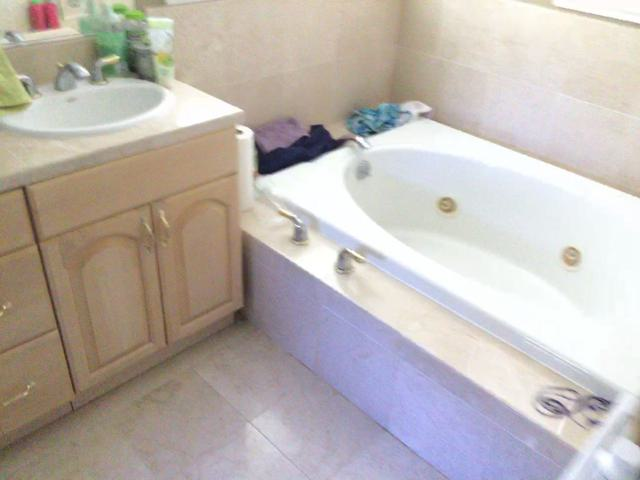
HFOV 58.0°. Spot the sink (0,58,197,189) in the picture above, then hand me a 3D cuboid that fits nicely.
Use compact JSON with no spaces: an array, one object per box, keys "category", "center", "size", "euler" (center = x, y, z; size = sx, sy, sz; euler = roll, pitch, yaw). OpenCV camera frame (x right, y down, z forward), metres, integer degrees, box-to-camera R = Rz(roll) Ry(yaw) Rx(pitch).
[{"category":"sink","center":[-0.660,-0.360,1.670],"size":[0.420,0.170,0.420],"euler":[29,39,34]}]

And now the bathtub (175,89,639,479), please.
[{"category":"bathtub","center":[0.620,0.090,2.100],"size":[1.330,0.530,2.020],"euler":[-24,42,-38]}]

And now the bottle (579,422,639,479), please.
[{"category":"bottle","center":[0.460,0.370,0.900],"size":[0.080,0.120,0.080],"euler":[29,39,34]}]
